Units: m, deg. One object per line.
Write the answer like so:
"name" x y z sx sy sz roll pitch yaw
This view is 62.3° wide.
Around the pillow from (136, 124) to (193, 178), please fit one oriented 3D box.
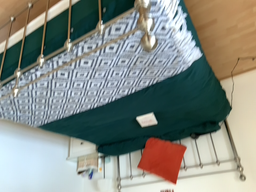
"pillow" 0.420 0.680 2.540 0.490 0.500 0.340 -24 148 31
